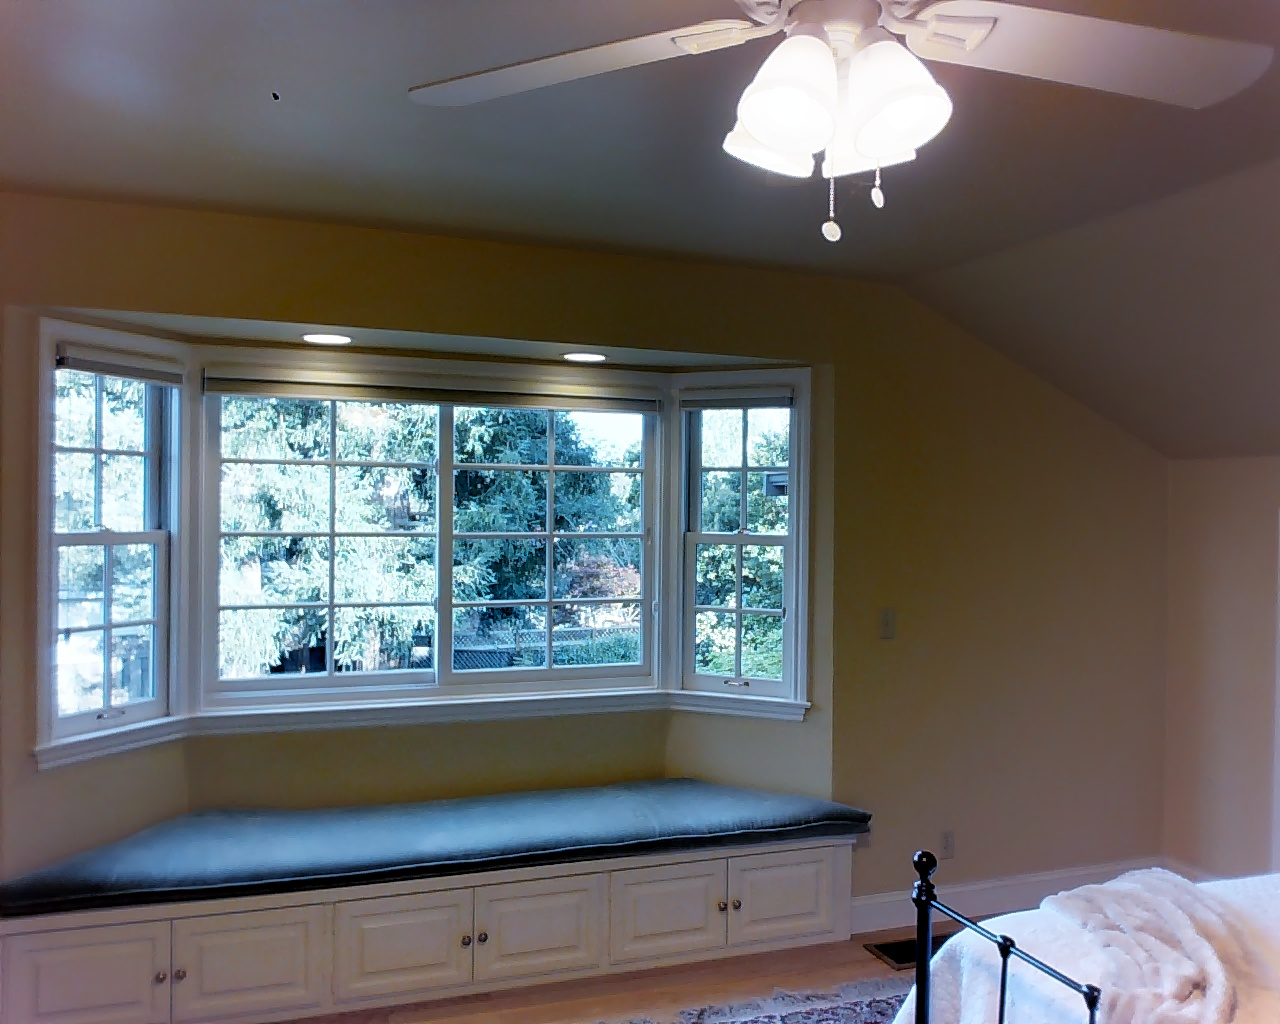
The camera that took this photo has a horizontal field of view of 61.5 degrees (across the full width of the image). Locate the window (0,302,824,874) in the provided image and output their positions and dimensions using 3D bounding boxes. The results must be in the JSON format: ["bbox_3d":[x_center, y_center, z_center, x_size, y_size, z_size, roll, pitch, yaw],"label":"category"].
[{"bbox_3d":[-0.680,0.220,3.780,2.650,1.610,0.620,0,0,-21],"label":"window"}]
